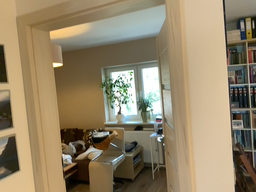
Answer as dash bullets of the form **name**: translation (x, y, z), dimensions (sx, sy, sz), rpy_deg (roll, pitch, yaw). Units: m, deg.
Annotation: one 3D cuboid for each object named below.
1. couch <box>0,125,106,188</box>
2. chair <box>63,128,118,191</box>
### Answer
- **couch**: translation (-1.590, 1.090, 4.200), dimensions (2.030, 0.820, 0.930), rpy_deg (-3, 3, 21)
- **chair**: translation (-0.550, 1.020, 3.300), dimensions (0.470, 0.900, 0.720), rpy_deg (-3, 3, 21)
